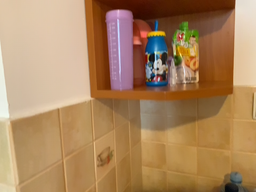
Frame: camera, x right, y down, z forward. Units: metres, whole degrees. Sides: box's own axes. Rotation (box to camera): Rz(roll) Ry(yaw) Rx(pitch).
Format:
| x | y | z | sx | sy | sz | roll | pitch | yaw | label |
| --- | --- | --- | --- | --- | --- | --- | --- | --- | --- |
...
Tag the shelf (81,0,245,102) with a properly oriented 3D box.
| x | y | z | sx | sy | sz | roll | pitch | yaw | label |
| --- | --- | --- | --- | --- | --- | --- | --- | --- | --- |
| 0.090 | -0.480 | 0.500 | 0.320 | 0.940 | 0.290 | 1 | 9 | 22 | shelf |
